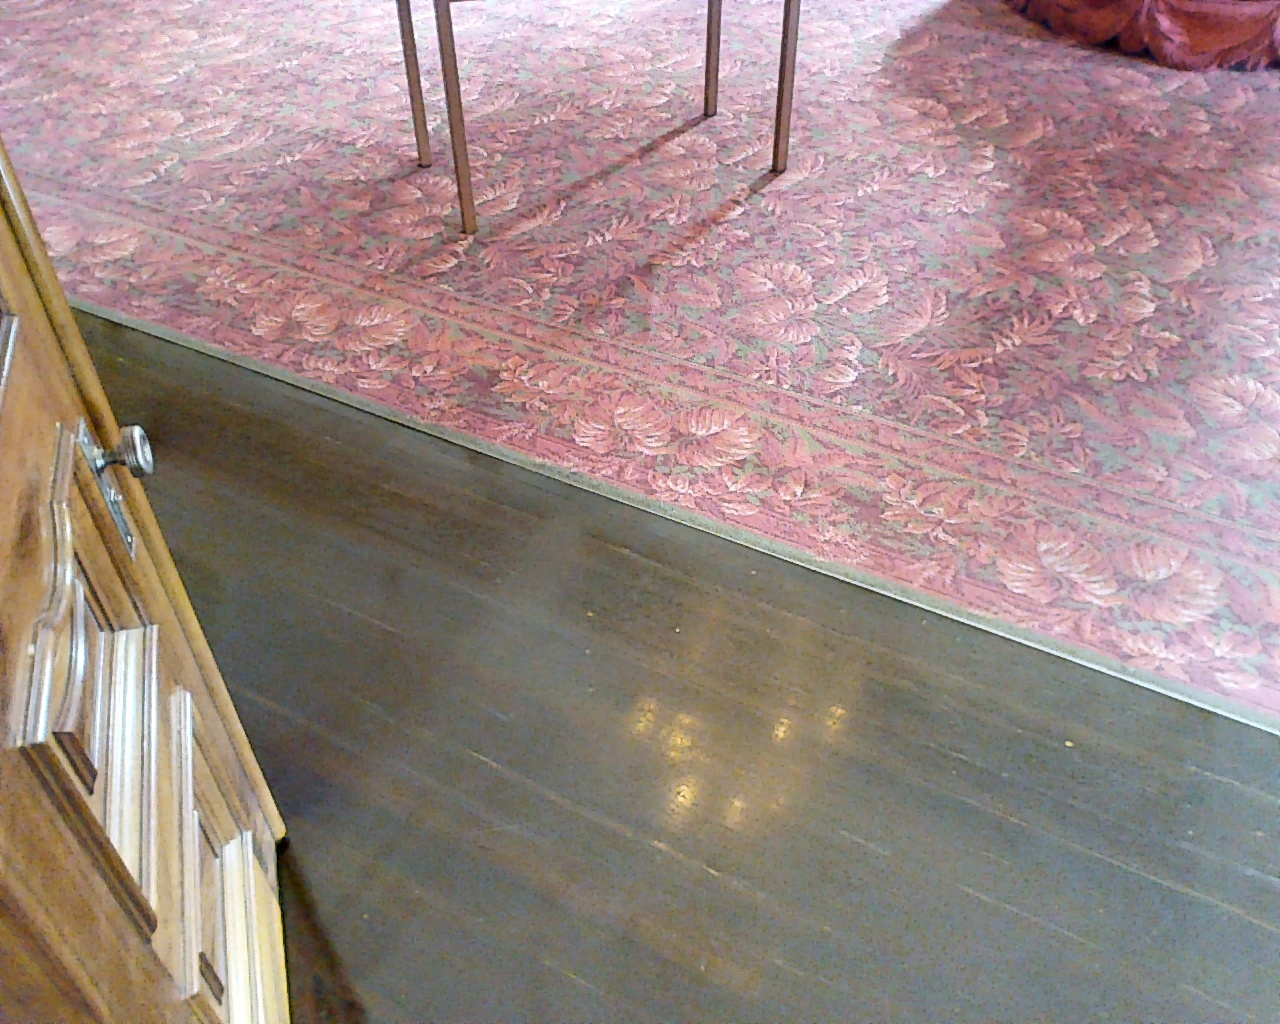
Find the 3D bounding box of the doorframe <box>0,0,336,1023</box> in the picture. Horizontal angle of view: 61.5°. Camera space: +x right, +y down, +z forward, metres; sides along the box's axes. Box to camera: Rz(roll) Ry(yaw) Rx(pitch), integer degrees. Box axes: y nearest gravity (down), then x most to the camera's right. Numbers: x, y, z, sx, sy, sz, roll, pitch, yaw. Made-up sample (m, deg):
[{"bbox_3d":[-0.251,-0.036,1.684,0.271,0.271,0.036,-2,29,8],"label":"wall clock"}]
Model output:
[{"bbox_3d":[-0.490,-0.370,0.580,0.080,2.920,0.740,-12,44,-13],"label":"doorframe"}]
